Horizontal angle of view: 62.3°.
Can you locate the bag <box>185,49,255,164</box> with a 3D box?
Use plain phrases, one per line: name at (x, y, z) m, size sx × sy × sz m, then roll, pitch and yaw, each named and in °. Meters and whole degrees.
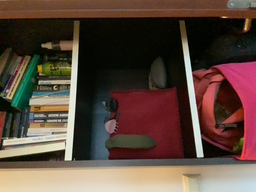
bag at (0.470, 0.060, 0.740) m, size 0.310 × 0.420 × 0.320 m, roll 99°, pitch 170°, yaw -70°
